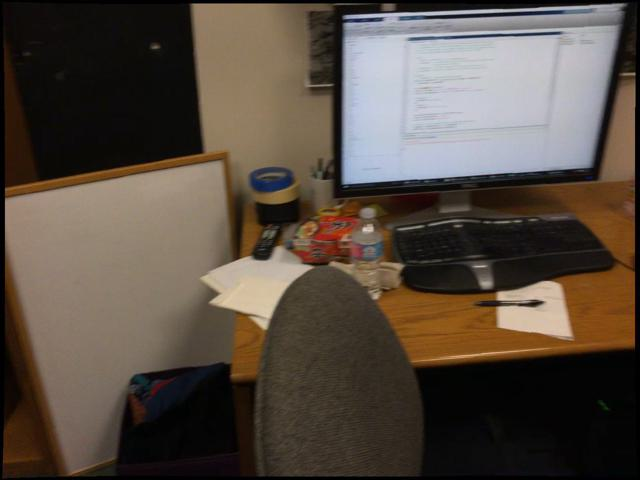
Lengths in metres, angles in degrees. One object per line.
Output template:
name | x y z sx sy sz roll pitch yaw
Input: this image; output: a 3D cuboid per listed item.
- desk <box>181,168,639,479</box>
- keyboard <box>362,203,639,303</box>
desk | 0.878 0.321 1.640 2.314 0.772 0.870 -3 28 -4
keyboard | 0.409 0.020 1.380 0.579 0.070 0.280 -4 28 -3
